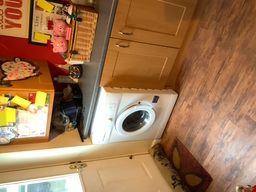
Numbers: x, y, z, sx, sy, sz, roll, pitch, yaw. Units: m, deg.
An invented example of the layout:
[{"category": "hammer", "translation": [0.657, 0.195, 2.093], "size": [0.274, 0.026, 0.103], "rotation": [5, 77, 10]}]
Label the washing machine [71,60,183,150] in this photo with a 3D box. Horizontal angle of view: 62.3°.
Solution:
[{"category": "washing machine", "translation": [-0.060, 0.070, 2.390], "size": [0.710, 0.920, 0.640], "rotation": [51, 133, 49]}]
